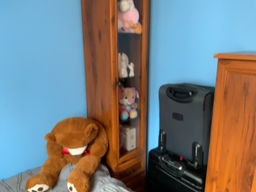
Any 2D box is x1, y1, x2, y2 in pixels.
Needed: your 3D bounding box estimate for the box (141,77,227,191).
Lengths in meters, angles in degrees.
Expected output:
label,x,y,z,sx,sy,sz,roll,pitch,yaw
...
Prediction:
label,x,y,z,sx,sy,sz,roll,pitch,yaw
box,0.380,0.220,1.530,0.350,0.640,0.440,-12,19,-42
